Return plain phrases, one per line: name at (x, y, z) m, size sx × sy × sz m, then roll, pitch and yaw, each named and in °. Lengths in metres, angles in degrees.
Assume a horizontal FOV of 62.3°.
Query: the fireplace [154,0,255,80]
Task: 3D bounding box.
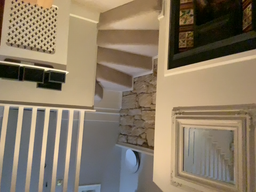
fireplace at (0.730, -0.700, 1.830) m, size 0.380 × 0.960 × 1.070 m, roll 6°, pitch 173°, yaw -32°
